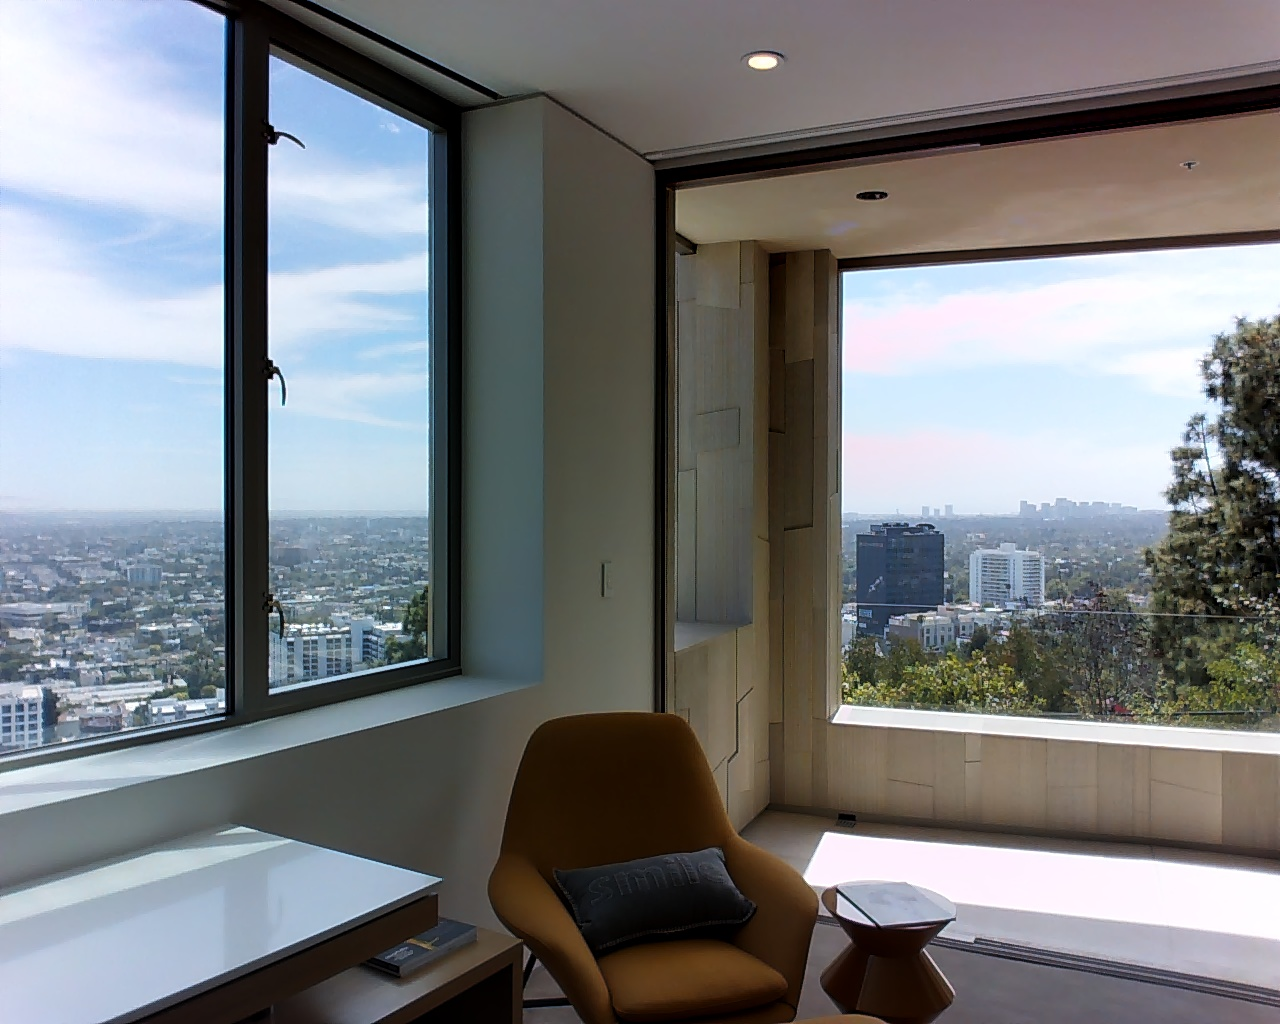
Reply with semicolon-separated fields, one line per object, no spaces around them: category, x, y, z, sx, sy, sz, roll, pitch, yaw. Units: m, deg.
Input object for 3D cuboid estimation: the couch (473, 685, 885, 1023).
couch;0.040;1.030;2.910;0.860;0.930;0.950;0;1;-16
